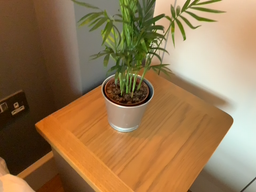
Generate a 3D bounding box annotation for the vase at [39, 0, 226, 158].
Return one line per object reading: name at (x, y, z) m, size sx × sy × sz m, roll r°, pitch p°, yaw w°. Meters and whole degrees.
vase at (0.010, -0.120, 0.410) m, size 0.210 × 0.360 × 0.250 m, roll 36°, pitch 50°, yaw 27°
